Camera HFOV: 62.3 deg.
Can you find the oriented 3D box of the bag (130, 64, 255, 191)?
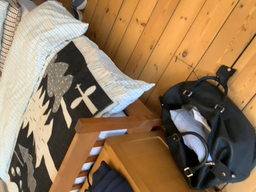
[{"bbox_3d":[0.330,0.170,1.070,0.560,0.220,0.410,47,120,36],"label":"bag"}]
